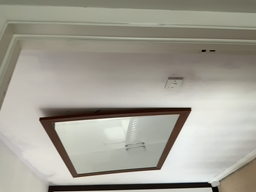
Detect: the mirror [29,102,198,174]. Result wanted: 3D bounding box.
[{"bbox_3d":[-0.120,0.480,1.980,1.440,1.100,0.060,96,173,-54],"label":"mirror"}]
